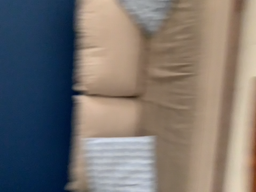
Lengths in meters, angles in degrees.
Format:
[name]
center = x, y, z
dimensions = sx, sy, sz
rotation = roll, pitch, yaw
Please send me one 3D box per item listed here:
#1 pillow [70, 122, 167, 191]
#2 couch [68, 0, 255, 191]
[pillow]
center = -0.060, 0.470, 1.470
dimensions = 0.500, 0.280, 0.440
rotation = -16, 91, 27
[couch]
center = 0.110, 0.010, 1.580
dimensions = 1.140, 0.700, 2.070
rotation = 17, 103, 59
